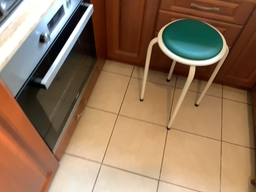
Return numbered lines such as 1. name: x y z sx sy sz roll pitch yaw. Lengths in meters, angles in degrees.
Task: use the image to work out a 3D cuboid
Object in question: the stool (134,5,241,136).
1. stool: 0.290 -0.110 1.200 0.400 0.570 0.380 14 57 6
